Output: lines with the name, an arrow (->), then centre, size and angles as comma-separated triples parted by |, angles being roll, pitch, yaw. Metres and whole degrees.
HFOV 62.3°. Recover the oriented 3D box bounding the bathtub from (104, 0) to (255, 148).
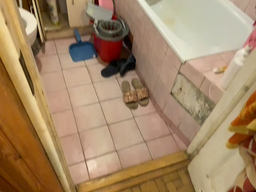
bathtub -> 0.370, -0.520, 1.750 | 0.690, 0.560, 1.630 | -13, 55, -17
